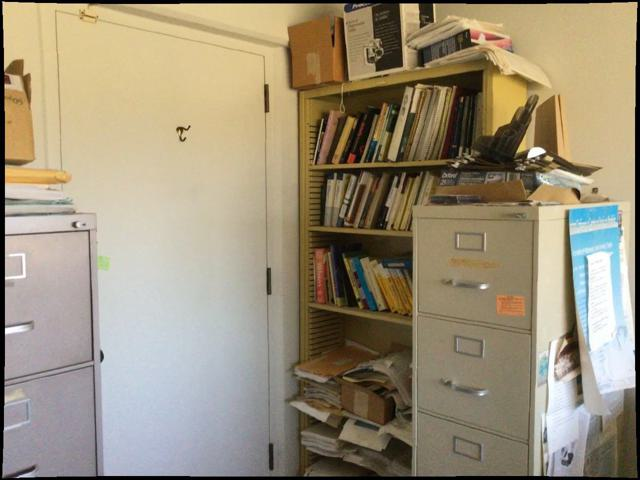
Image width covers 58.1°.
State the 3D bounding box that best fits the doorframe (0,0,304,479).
[{"bbox_3d":[-0.549,0.221,2.260,0.110,2.216,1.258,4,5,43],"label":"doorframe"}]

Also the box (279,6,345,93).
[{"bbox_3d":[-0.040,-0.822,2.520,0.300,0.301,0.100,4,5,43],"label":"box"}]

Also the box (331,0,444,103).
[{"bbox_3d":[0.279,-0.832,2.390,0.350,0.441,0.300,4,5,43],"label":"box"}]

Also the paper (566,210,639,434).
[{"bbox_3d":[0.938,0.221,1.830,0.100,0.632,0.509,4,5,43],"label":"paper"}]

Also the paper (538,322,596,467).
[{"bbox_3d":[0.698,0.421,1.620,0.060,0.341,0.250,4,5,43],"label":"paper"}]
